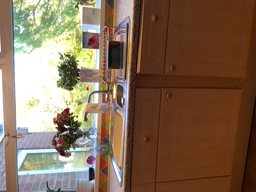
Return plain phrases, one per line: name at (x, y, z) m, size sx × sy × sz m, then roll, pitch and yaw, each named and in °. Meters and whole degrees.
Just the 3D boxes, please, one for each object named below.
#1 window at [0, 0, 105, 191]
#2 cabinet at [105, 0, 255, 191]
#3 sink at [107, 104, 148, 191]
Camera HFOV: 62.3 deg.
window at (-0.780, -0.310, 1.880) m, size 0.080 × 1.100 × 2.480 m, roll -142°, pitch 54°, yaw -72°
cabinet at (0.360, -0.140, 1.560) m, size 0.620 × 0.910 × 1.900 m, roll -146°, pitch 58°, yaw -73°
sink at (-0.030, 0.340, 1.550) m, size 0.530 × 0.160 × 0.470 m, roll -146°, pitch 58°, yaw -73°
